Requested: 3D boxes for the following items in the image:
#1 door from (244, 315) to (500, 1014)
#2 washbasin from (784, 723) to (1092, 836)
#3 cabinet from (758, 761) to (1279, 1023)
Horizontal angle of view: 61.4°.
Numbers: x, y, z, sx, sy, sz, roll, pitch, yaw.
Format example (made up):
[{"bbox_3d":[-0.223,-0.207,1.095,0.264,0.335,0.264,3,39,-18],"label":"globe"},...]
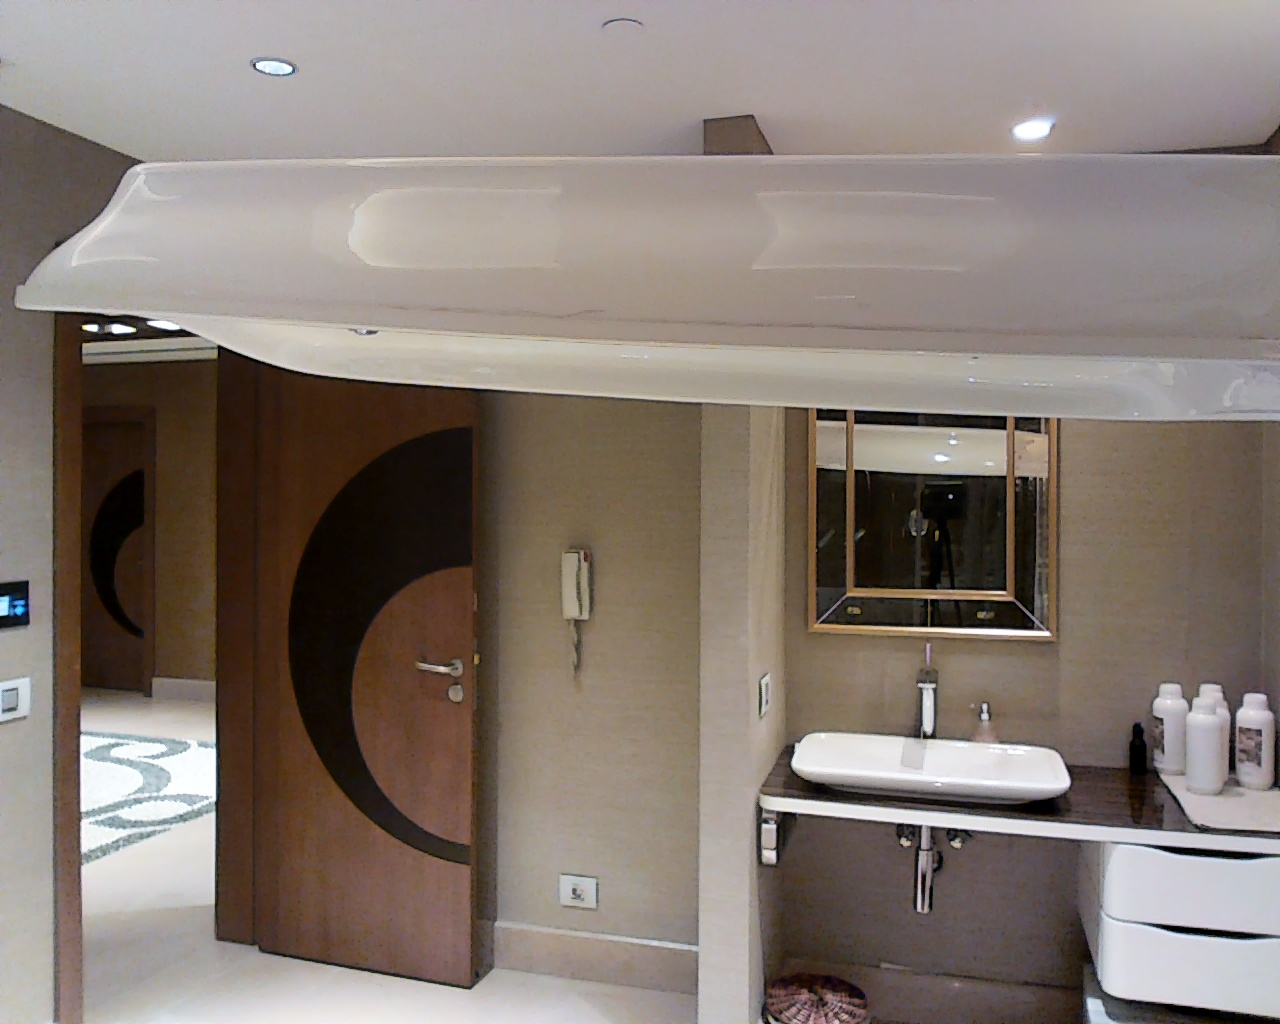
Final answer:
[{"bbox_3d":[-0.910,0.480,3.600,0.920,2.210,0.100,1,1,19],"label":"door"},{"bbox_3d":[0.810,0.720,2.970,0.750,0.130,0.510,1,1,16],"label":"washbasin"},{"bbox_3d":[1.030,1.190,2.900,1.330,0.810,0.560,1,1,17],"label":"cabinet"}]
